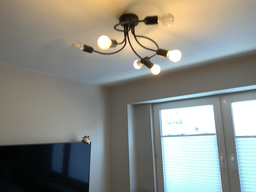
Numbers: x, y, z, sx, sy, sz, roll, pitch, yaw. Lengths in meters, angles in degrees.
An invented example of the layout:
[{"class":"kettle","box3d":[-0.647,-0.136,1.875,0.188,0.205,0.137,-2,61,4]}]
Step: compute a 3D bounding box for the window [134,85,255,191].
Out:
[{"class":"window","box3d":[1.090,0.730,2.220,2.400,1.590,0.180,-10,-13,39]}]
